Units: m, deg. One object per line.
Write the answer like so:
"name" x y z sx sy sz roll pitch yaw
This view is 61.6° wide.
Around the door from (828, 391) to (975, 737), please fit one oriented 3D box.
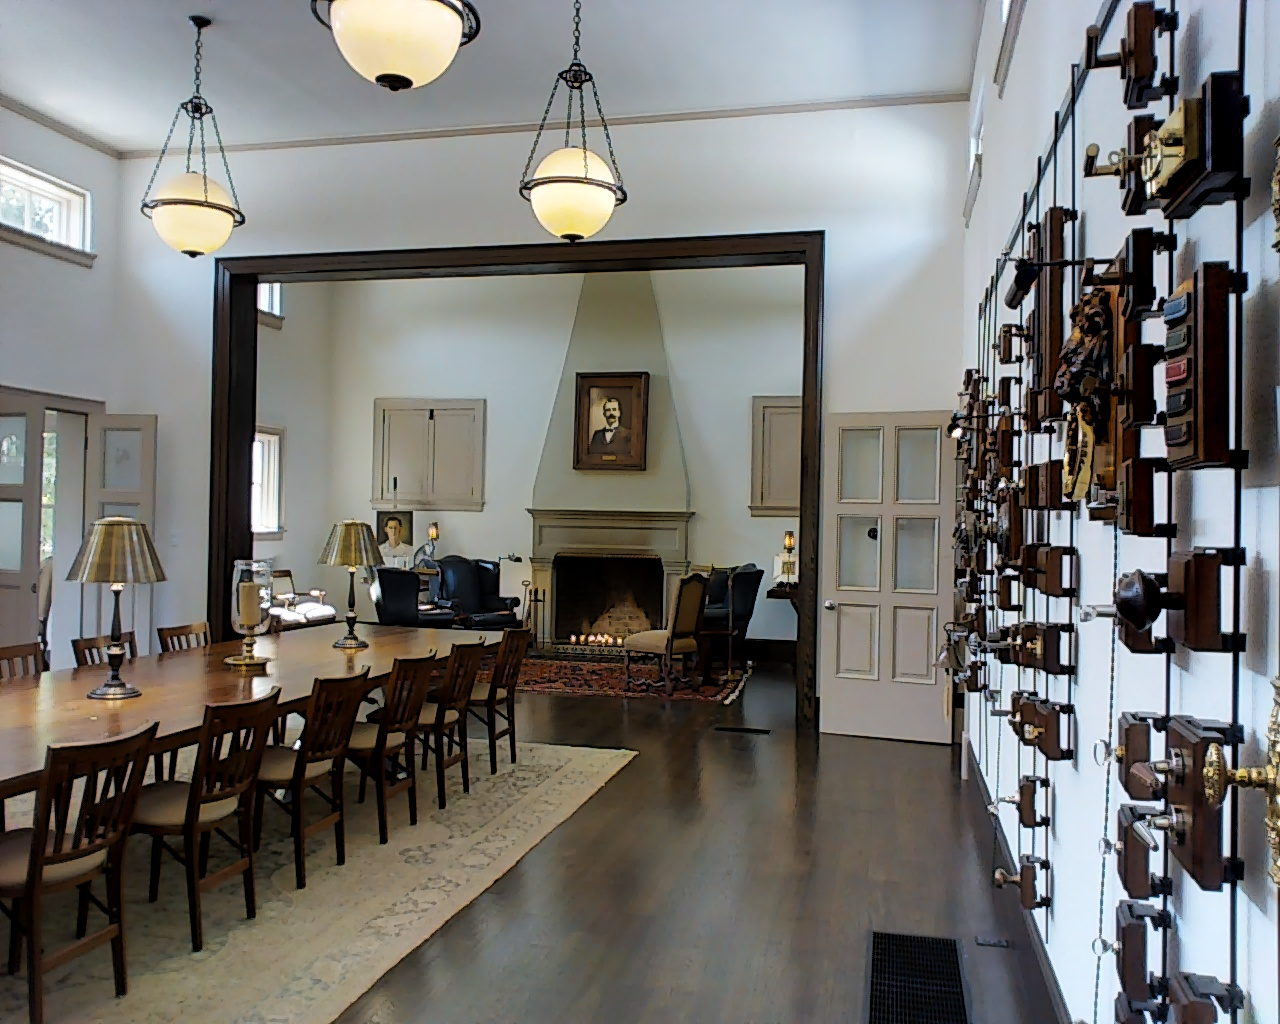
"door" 1.840 0.350 7.590 0.950 2.380 0.180 1 0 14
